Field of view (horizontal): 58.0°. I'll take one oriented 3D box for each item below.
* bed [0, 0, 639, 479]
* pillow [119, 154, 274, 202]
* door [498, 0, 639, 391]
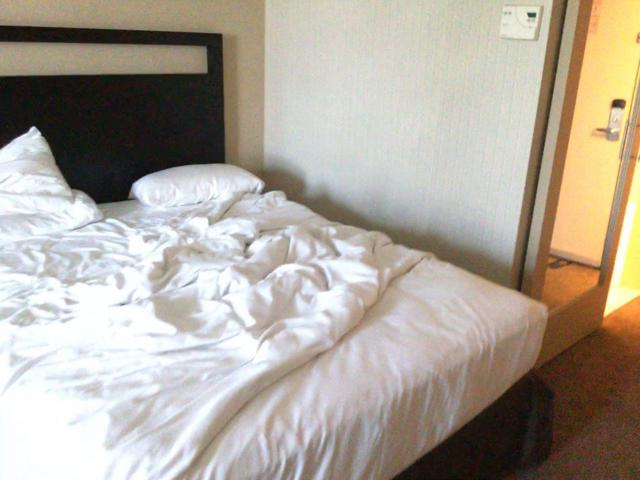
[{"bbox_3d":[-0.460,0.010,2.020,1.730,1.510,2.120,-14,24,-41],"label":"bed"},{"bbox_3d":[-0.600,-0.320,2.850,0.610,0.100,0.420,-14,24,-41],"label":"pillow"},{"bbox_3d":[1.290,-0.320,2.610,1.130,1.750,0.180,-14,24,-41],"label":"door"}]
